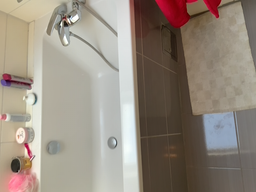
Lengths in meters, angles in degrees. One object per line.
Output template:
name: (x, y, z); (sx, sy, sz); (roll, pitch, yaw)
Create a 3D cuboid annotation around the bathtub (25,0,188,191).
bathtub: (-0.120, 0.570, 1.310); (0.800, 0.600, 2.220); (-9, 79, 32)
